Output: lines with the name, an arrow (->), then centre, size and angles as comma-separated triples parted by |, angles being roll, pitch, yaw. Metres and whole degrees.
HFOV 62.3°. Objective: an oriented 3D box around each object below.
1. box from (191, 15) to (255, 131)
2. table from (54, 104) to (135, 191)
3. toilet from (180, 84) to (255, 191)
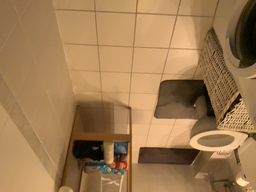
box -> 0.750, -0.160, 1.340 | 0.490, 0.660, 0.350 | 2, 141, -2
table -> -0.250, 0.650, 2.040 | 0.580, 0.860, 0.750 | 1, 141, -1
toilet -> 0.850, 0.350, 1.700 | 0.650, 0.830, 0.410 | 1, 141, -1
